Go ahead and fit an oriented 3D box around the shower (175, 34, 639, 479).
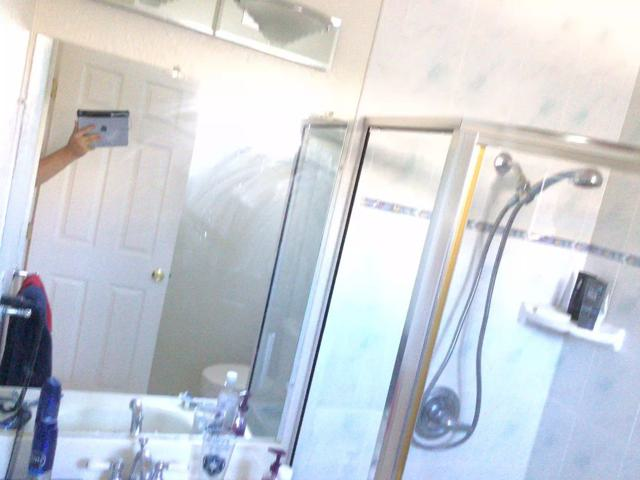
[{"bbox_3d":[0.460,0.710,1.300,1.120,1.880,1.140,15,2,32],"label":"shower"}]
